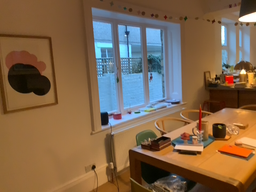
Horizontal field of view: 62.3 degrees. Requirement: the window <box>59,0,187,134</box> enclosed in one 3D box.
[{"bbox_3d":[0.120,-0.490,3.400,2.150,1.570,0.560,-12,12,-43],"label":"window"}]
